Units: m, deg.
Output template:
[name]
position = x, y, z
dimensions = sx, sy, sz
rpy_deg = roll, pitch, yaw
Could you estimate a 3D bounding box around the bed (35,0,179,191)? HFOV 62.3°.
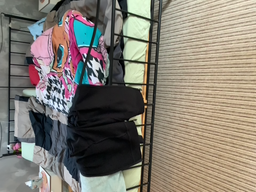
[bed]
position = -0.480, -0.060, 2.340
dimensions = 2.080, 0.470, 1.940
rpy_deg = 9, 98, 52
